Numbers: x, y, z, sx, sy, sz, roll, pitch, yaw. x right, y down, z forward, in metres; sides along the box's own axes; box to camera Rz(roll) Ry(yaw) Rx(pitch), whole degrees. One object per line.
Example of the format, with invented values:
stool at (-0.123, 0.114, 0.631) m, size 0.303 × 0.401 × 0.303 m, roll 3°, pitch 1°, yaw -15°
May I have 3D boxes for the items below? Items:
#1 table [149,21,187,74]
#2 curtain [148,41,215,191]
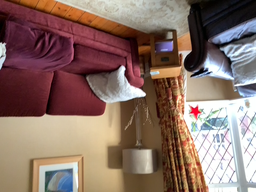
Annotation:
table at (0.490, -0.580, 2.620) m, size 0.390 × 0.480 × 0.380 m, roll -6°, pitch 168°, yaw 12°
curtain at (0.730, 0.550, 2.990) m, size 0.420 × 2.500 × 0.610 m, roll 5°, pitch 166°, yaw -35°
